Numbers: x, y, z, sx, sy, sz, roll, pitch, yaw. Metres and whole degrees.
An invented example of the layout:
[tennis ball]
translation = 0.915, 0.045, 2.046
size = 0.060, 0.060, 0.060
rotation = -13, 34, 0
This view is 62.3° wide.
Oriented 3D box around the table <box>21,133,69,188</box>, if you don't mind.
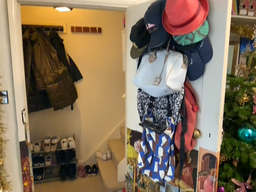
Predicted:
[table]
translation = -1.100, 0.850, 2.860
size = 0.540, 0.590, 0.280
rotation = -3, 11, -18
